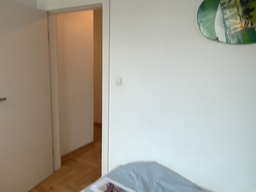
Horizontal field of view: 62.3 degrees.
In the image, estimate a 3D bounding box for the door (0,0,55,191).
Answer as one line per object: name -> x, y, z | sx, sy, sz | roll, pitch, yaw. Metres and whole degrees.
door -> -1.100, 0.080, 2.230 | 0.050, 2.090, 0.820 | 5, 11, 20
